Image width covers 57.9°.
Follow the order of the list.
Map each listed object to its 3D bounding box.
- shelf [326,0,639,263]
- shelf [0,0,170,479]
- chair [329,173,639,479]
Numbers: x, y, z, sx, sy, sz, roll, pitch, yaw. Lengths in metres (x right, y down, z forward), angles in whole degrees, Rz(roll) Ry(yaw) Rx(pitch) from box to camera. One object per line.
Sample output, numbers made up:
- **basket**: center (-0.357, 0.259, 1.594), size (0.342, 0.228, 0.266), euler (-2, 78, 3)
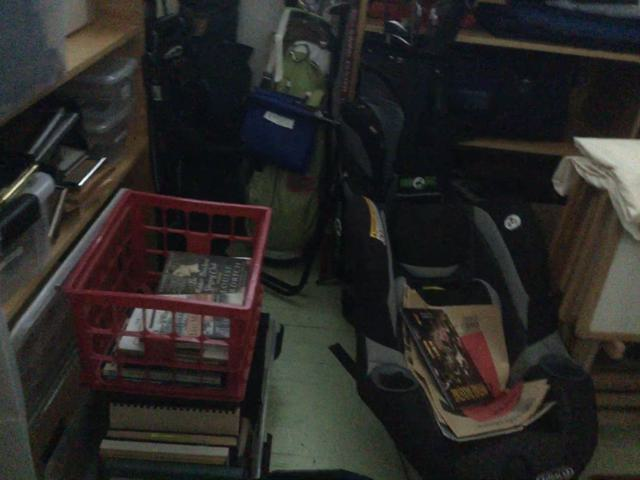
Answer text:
- **shelf**: center (0.550, -0.560, 1.860), size (0.940, 1.100, 0.480), euler (6, 32, -1)
- **shelf**: center (-0.720, -0.140, 1.170), size (0.550, 1.300, 0.890), euler (6, 32, -1)
- **chair**: center (0.360, 0.240, 1.350), size (0.620, 0.470, 0.710), euler (6, 32, -1)
